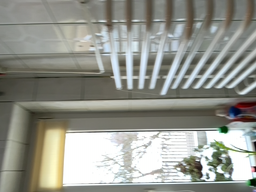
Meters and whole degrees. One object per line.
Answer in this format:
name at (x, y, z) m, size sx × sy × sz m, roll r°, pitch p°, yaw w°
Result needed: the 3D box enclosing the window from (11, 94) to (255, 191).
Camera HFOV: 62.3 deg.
window at (0.070, 0.310, 1.130) m, size 0.230 × 1.200 × 0.590 m, roll 89°, pitch 180°, yaw -68°
